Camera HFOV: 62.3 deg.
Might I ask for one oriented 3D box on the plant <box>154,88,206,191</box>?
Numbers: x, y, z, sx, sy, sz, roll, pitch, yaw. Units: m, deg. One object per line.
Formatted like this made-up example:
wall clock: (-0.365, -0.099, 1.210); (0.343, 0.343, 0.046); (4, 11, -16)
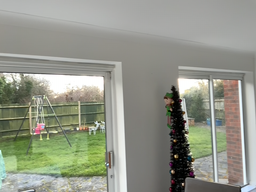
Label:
plant: (0.610, 0.770, 2.440); (0.400, 1.700, 0.380); (-1, -2, -42)
